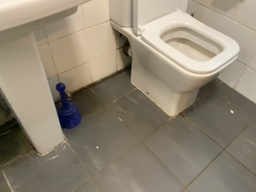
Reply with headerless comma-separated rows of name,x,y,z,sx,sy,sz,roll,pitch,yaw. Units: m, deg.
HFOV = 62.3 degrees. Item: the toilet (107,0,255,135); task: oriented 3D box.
toilet,0.240,-0.330,1.080,0.410,0.810,0.600,-30,57,-26
